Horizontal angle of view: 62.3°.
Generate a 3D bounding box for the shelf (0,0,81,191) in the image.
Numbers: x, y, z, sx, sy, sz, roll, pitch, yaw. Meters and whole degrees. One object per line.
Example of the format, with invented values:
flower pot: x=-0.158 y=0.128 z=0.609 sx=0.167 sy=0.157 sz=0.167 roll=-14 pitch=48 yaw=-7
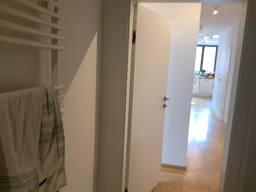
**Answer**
shelf: x=-0.340 y=-0.060 z=0.740 sx=0.120 sy=1.330 sz=0.620 roll=5 pitch=10 yaw=7
